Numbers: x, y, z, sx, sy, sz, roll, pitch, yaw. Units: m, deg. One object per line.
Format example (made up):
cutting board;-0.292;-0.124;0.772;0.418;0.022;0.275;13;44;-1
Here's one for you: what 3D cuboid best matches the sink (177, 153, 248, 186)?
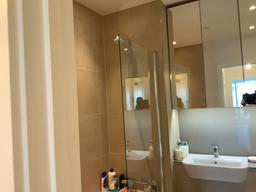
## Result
sink;0.820;0.680;2.040;0.570;0.130;0.430;-4;-2;29
